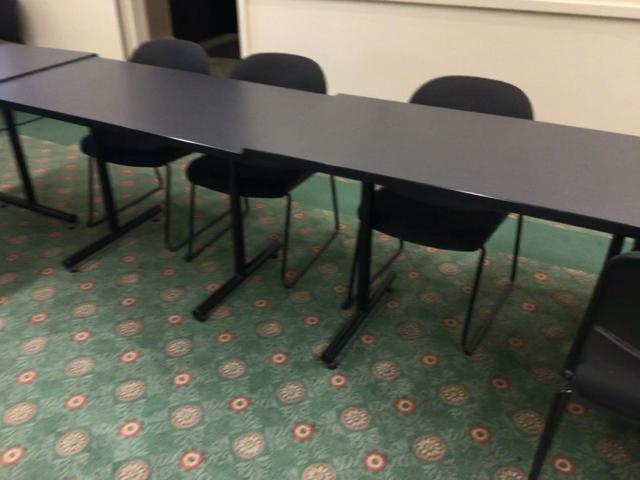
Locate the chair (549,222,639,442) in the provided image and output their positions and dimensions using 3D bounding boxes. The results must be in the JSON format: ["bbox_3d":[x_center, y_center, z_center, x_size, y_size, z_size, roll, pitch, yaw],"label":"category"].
[{"bbox_3d":[0.910,0.240,1.350,0.580,0.200,0.600,17,33,23],"label":"chair"}]

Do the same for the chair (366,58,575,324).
[{"bbox_3d":[0.520,-0.190,2.130,0.540,0.800,0.330,20,34,27],"label":"chair"}]
